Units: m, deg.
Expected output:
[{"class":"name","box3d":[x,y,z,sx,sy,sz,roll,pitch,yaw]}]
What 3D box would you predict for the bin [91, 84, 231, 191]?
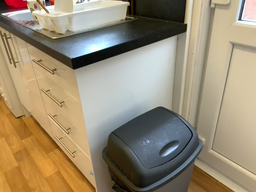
[{"class":"bin","box3d":[0.170,0.350,1.080,0.540,0.590,0.340,-28,40,-35]}]
